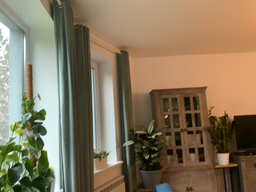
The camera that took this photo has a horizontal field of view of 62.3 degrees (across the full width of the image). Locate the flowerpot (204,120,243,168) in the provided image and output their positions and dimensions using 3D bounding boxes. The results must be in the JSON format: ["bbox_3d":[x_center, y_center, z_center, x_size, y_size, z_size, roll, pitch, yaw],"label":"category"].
[{"bbox_3d":[1.740,0.860,3.920,0.380,0.790,0.540,-4,-7,0],"label":"flowerpot"}]

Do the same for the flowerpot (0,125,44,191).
[{"bbox_3d":[-0.730,0.510,1.150,0.410,0.670,0.360,-3,-7,-1],"label":"flowerpot"}]

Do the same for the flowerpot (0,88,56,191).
[{"bbox_3d":[-0.800,0.440,1.660,0.340,0.940,0.360,-3,-7,-1],"label":"flowerpot"}]

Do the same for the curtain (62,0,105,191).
[{"bbox_3d":[-0.490,0.390,2.480,0.300,2.870,0.700,-3,-7,-2],"label":"curtain"}]
